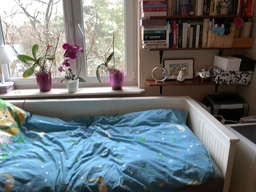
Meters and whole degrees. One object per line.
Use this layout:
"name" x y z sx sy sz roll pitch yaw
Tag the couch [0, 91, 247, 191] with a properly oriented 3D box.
"couch" -0.430 0.530 1.720 2.130 0.850 1.020 -1 17 -4
